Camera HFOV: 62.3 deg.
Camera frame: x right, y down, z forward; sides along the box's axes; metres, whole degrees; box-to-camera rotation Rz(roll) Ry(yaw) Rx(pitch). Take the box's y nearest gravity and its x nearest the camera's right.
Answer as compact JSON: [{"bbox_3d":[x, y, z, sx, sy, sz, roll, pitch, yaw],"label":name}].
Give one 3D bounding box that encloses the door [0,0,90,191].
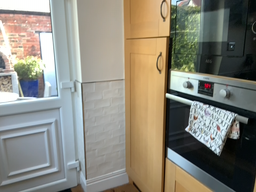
[{"bbox_3d":[-0.820,-0.120,1.600,0.960,2.360,0.210,-7,16,-27],"label":"door"}]
